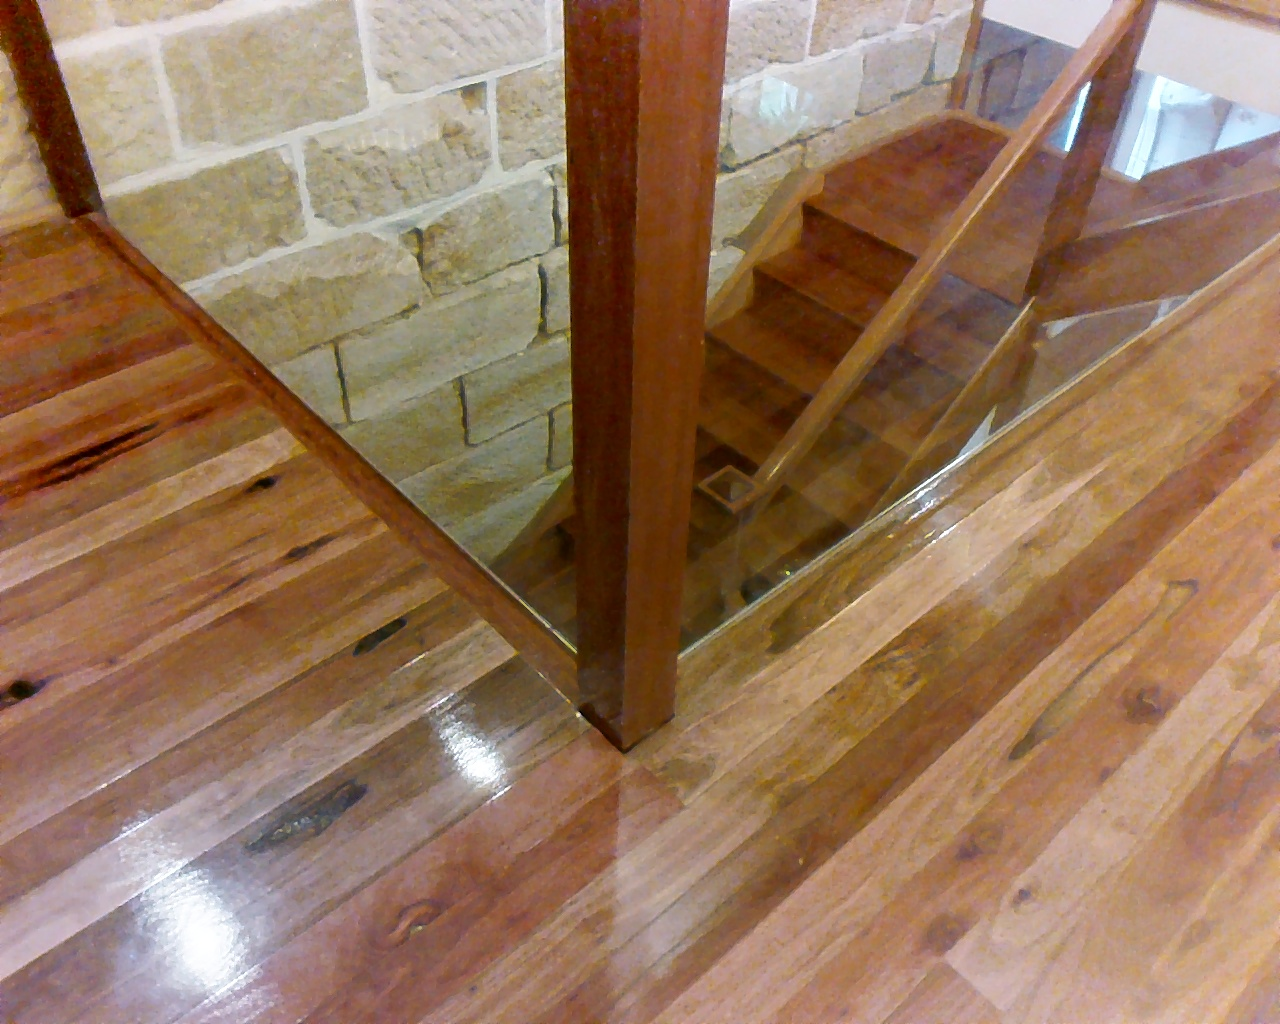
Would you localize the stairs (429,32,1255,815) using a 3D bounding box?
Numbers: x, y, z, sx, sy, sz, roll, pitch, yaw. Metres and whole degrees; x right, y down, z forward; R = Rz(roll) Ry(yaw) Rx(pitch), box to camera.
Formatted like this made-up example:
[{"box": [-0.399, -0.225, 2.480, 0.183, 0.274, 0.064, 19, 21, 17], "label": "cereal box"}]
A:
[{"box": [0.770, -0.490, 4.050, 2.730, 1.660, 1.170, -30, 52, -30], "label": "stairs"}]
